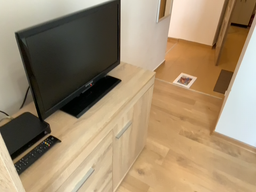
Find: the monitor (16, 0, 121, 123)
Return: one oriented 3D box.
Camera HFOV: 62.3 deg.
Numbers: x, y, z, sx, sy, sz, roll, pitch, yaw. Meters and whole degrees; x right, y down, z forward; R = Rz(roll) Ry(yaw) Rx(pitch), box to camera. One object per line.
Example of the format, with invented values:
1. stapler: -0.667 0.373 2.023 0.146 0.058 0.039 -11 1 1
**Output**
1. monitor: -0.210 -0.200 1.030 0.030 0.390 0.620 20 40 22
